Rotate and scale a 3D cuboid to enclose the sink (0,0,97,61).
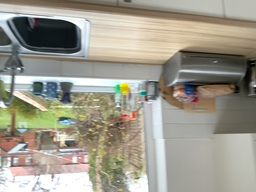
[{"bbox_3d":[-0.370,-0.370,1.110,0.360,0.190,0.530,2,170,-14],"label":"sink"}]
